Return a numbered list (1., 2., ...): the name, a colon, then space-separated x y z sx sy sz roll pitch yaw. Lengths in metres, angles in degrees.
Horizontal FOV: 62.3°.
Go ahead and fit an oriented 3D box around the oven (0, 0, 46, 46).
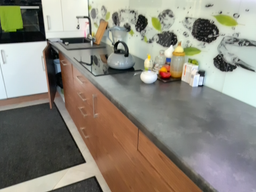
1. oven: -1.480 -1.040 2.810 0.590 0.600 0.610 -11 27 -26
